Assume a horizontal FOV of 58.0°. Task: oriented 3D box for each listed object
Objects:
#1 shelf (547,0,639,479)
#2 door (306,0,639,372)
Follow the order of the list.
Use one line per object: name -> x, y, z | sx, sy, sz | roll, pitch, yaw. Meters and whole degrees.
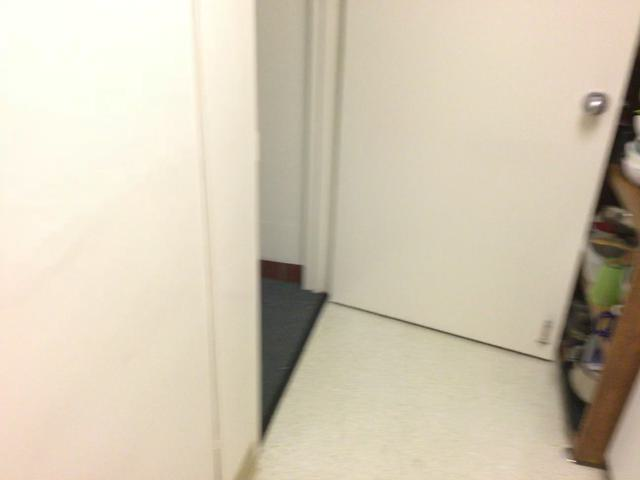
shelf -> 1.010, -0.150, 1.640 | 0.370, 1.480, 0.780 | 7, 28, 13
door -> 0.460, -0.590, 1.840 | 1.050, 2.090, 0.150 | 12, 30, 22
